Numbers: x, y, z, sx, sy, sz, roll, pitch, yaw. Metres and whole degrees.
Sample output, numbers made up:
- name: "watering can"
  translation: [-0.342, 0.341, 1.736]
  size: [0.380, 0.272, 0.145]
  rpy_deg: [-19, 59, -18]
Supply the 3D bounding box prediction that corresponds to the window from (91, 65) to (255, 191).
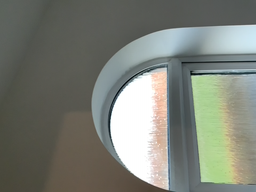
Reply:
- name: "window"
  translation: [0.400, 0.120, 0.890]
  size: [0.070, 1.020, 0.600]
  rpy_deg: [79, -166, -54]
